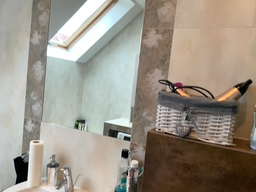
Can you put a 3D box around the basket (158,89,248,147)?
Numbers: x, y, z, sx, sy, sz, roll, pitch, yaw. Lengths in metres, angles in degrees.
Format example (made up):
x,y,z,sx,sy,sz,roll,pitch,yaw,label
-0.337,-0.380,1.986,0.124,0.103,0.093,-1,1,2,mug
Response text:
x,y,z,sx,sy,sz,roll,pitch,yaw,label
0.300,0.070,0.860,0.290,0.160,0.210,8,4,25,basket
